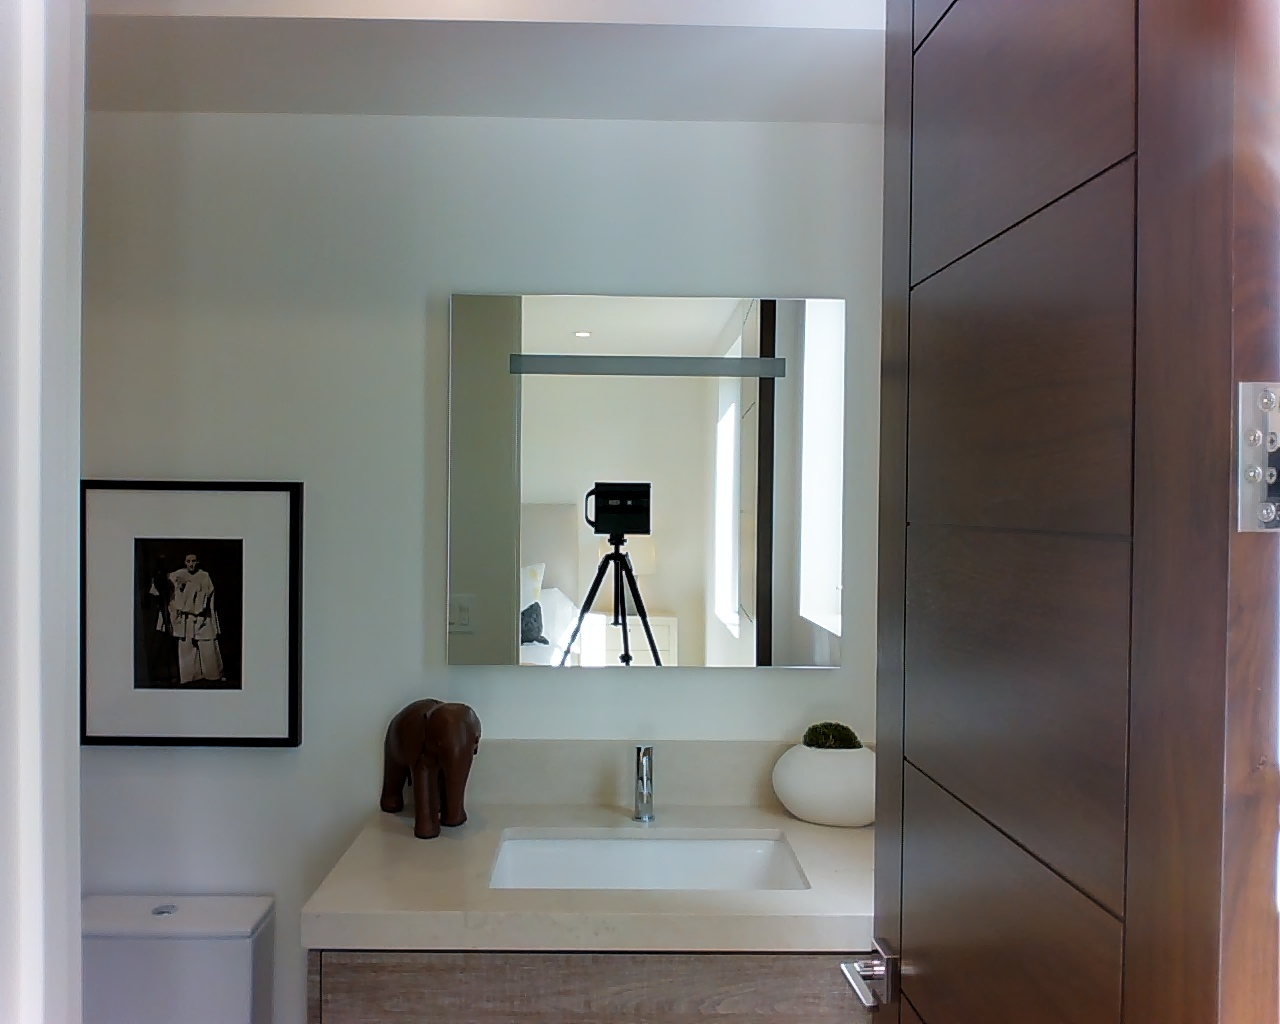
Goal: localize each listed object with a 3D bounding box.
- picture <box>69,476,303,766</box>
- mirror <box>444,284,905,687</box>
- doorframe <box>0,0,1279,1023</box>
[{"bbox_3d":[-0.920,0.220,2.190,0.450,0.580,0.040,1,1,-2],"label":"picture"},{"bbox_3d":[0.070,-0.050,2.210,0.920,0.800,0.070,1,1,-2],"label":"mirror"},{"bbox_3d":[0.010,0.300,0.730,0.950,2.460,0.150,1,1,-2],"label":"doorframe"}]
